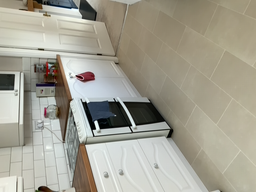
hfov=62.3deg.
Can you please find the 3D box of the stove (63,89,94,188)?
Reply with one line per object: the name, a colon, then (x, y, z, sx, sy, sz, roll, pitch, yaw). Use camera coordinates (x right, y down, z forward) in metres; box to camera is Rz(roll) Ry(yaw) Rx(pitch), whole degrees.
stove: (-0.500, 0.390, 2.030, 0.620, 0.090, 0.680, 58, 140, 47)
